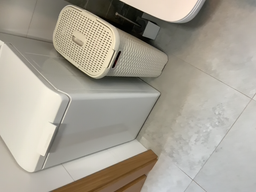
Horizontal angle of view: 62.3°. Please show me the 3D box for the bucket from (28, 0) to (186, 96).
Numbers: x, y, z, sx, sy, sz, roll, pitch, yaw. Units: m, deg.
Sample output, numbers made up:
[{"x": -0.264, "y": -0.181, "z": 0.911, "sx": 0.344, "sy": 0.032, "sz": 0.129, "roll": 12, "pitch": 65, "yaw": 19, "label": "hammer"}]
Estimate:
[{"x": -0.090, "y": -0.280, "z": 1.300, "sx": 0.640, "sy": 0.720, "sz": 0.220, "roll": 40, "pitch": 113, "yaw": 27, "label": "bucket"}]
